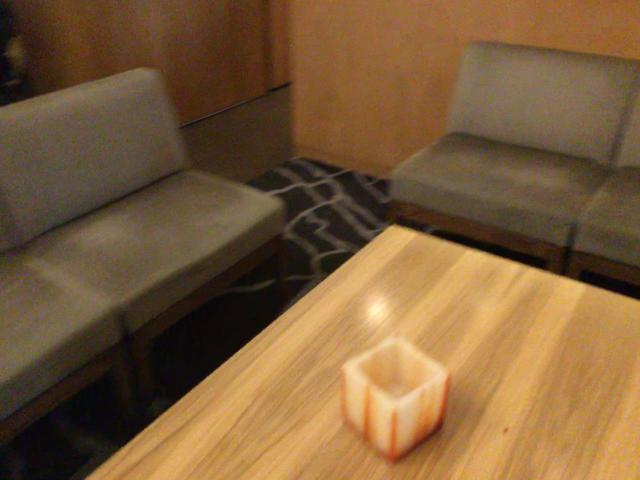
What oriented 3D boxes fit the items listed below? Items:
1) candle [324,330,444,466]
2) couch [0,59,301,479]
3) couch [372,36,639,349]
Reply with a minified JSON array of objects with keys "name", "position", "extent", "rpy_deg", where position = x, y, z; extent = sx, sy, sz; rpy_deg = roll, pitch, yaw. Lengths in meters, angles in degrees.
[{"name":"candle","position":[0.120,0.290,1.090],"extent":[0.160,0.130,0.160],"rpy_deg":[18,34,32]},{"name":"couch","position":[-0.820,0.060,1.740],"extent":[0.720,0.840,1.510],"rpy_deg":[18,34,32]},{"name":"couch","position":[1.030,-0.210,2.130],"extent":[1.520,0.820,0.690],"rpy_deg":[18,34,32]}]
